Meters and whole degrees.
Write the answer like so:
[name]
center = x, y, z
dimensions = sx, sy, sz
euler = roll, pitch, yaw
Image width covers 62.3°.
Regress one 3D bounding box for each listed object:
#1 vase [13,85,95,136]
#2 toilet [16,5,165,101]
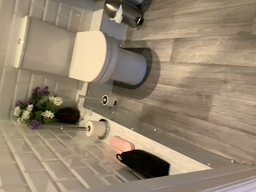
[vase]
center = -0.590, 0.120, 1.700
dimensions = 0.340, 0.490, 0.310
euler = 15, 95, 50
[toilet]
center = -0.270, -0.260, 1.550
dimensions = 0.630, 0.810, 0.400
euler = 16, 96, 50
